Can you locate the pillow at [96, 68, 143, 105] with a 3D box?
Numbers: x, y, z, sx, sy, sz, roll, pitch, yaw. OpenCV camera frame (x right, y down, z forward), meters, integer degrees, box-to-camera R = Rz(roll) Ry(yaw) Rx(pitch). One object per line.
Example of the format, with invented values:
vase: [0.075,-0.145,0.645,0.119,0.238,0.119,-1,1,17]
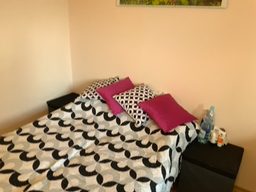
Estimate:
pillow: [-0.080,-0.110,2.080,0.330,0.220,0.330,16,25,28]
